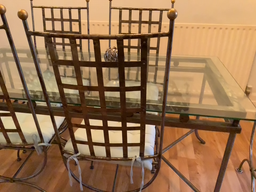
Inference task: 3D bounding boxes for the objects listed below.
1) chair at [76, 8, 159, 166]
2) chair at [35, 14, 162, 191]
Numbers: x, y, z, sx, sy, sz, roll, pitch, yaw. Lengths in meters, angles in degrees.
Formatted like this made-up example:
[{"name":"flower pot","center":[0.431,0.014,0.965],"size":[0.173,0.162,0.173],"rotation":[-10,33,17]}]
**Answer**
[{"name":"chair","center":[-0.040,-0.060,1.520],"size":[0.430,1.020,0.410],"rotation":[5,27,8]},{"name":"chair","center":[-0.080,0.140,1.120],"size":[0.420,1.020,0.470],"rotation":[4,27,6]}]
